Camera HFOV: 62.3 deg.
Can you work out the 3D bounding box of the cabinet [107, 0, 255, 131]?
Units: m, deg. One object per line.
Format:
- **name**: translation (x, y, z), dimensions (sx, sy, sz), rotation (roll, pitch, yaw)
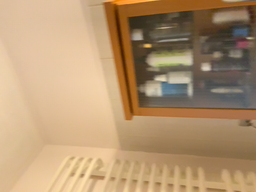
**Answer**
- **cabinet**: translation (0.330, -0.120, 0.660), dimensions (0.200, 0.700, 0.410), rotation (-65, -29, -57)
